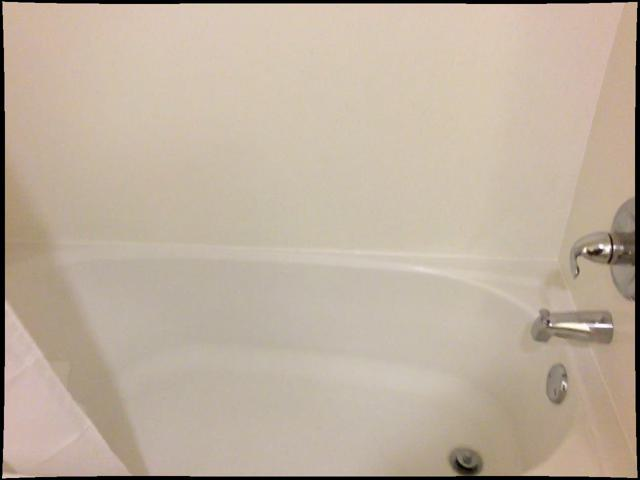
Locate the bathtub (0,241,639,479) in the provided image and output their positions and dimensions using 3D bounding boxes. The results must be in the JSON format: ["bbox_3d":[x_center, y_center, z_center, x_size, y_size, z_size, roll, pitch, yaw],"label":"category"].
[{"bbox_3d":[-0.190,0.441,1.340,1.506,0.471,0.761,2,35,5],"label":"bathtub"}]
